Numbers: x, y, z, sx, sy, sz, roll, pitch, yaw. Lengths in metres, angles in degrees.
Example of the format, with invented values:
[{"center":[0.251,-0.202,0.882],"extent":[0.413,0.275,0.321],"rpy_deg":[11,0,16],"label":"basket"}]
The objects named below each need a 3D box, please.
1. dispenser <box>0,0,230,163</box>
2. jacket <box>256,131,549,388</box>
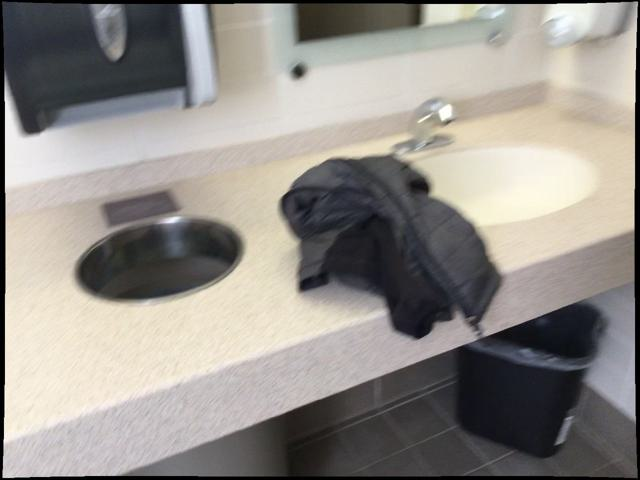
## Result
[{"center":[-0.340,-0.330,0.870],"extent":[0.330,0.330,0.150],"rpy_deg":[-16,32,-18],"label":"dispenser"},{"center":[0.100,0.000,0.860],"extent":[0.280,0.180,0.330],"rpy_deg":[-16,32,-18],"label":"jacket"}]
